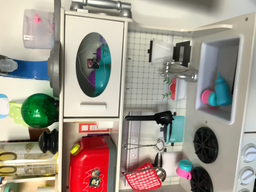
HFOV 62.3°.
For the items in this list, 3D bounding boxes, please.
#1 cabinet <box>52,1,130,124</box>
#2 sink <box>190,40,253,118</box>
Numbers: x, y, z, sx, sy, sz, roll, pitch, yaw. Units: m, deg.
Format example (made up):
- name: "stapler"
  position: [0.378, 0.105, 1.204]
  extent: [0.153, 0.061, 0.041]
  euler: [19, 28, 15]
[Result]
- name: "cabinet"
  position: [-0.120, -0.090, 0.650]
  extent: [0.140, 0.200, 0.320]
  euler: [-148, 61, -71]
- name: "sink"
  position: [0.290, -0.060, 0.690]
  extent: [0.180, 0.060, 0.220]
  euler: [-148, 61, -71]
